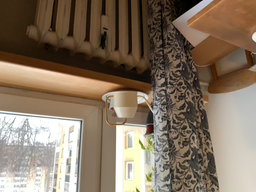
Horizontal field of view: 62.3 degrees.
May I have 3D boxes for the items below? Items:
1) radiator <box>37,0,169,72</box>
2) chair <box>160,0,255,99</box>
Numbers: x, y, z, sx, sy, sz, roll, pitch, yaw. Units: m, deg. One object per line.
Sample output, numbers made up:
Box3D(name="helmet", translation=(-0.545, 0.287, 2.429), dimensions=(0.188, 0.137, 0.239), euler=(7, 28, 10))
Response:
Box3D(name="radiator", translation=(-0.110, -0.530, 1.190), dimensions=(0.650, 0.650, 0.200), euler=(9, 161, -26))
Box3D(name="chair", translation=(0.490, -0.430, 1.300), dimensions=(0.390, 0.770, 0.400), euler=(10, 160, -30))
